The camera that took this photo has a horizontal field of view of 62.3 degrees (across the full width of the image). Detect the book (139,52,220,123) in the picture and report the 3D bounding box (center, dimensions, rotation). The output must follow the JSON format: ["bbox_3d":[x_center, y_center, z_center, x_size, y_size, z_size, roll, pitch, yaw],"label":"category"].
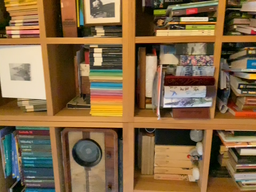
[{"bbox_3d":[0.230,-0.060,1.090,0.280,0.340,0.300,-79,-10,-74],"label":"book"}]

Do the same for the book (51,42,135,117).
[{"bbox_3d":[-0.160,-0.110,1.170,0.300,0.380,0.350,-79,-10,-73],"label":"book"}]

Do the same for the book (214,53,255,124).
[{"bbox_3d":[0.650,-0.050,1.060,0.260,0.310,0.300,-79,-10,-73],"label":"book"}]

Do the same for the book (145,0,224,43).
[{"bbox_3d":[0.250,-0.440,1.020,0.250,0.320,0.350,-79,-11,-74],"label":"book"}]
